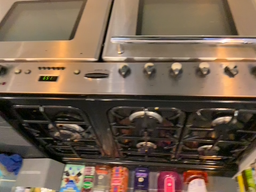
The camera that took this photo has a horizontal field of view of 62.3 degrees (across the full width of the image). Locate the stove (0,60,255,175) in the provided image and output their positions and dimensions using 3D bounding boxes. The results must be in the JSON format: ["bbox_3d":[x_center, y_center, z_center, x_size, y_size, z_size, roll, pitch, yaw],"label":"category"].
[{"bbox_3d":[-0.090,0.130,0.860,1.100,0.160,0.600,1,145,6],"label":"stove"}]
